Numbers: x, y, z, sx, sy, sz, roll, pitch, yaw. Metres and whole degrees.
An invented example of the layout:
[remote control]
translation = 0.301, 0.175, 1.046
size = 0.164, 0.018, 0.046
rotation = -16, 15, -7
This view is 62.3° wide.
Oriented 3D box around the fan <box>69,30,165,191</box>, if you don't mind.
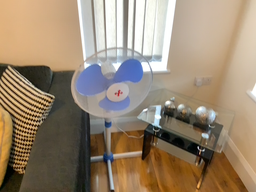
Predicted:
[fan]
translation = -0.090, 0.140, 1.380
size = 0.420, 1.010, 0.350
rotation = -8, 36, -15
